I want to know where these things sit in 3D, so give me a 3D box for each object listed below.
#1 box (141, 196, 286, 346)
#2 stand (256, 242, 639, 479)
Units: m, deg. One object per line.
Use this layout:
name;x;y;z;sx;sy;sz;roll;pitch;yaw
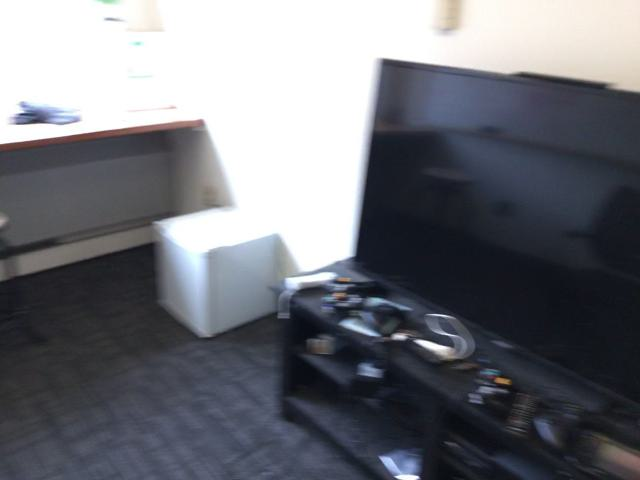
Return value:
box;-0.520;0.120;2.860;0.470;0.520;0.510;-17;25;-39
stand;0.430;0.580;1.740;0.510;0.720;1.450;-15;23;-35
